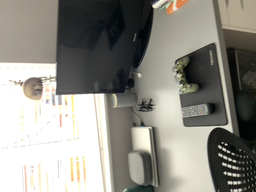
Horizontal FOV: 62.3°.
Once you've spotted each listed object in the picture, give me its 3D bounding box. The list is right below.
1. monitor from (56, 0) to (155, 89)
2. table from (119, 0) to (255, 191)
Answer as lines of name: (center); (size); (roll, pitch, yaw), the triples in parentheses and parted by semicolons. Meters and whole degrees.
monitor: (-0.120, -0.360, 1.150); (0.070, 0.480, 0.680); (52, 136, 49)
table: (0.510, 0.110, 1.270); (0.790, 0.730, 1.510); (-18, 77, 62)
